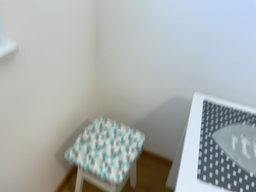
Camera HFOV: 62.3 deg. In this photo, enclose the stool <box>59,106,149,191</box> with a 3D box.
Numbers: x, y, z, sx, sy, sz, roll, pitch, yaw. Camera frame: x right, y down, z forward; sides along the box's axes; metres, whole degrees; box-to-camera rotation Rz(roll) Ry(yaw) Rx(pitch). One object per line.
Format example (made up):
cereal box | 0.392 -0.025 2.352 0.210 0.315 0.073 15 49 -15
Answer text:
stool | -0.130 0.410 1.260 0.340 0.510 0.350 19 39 15
